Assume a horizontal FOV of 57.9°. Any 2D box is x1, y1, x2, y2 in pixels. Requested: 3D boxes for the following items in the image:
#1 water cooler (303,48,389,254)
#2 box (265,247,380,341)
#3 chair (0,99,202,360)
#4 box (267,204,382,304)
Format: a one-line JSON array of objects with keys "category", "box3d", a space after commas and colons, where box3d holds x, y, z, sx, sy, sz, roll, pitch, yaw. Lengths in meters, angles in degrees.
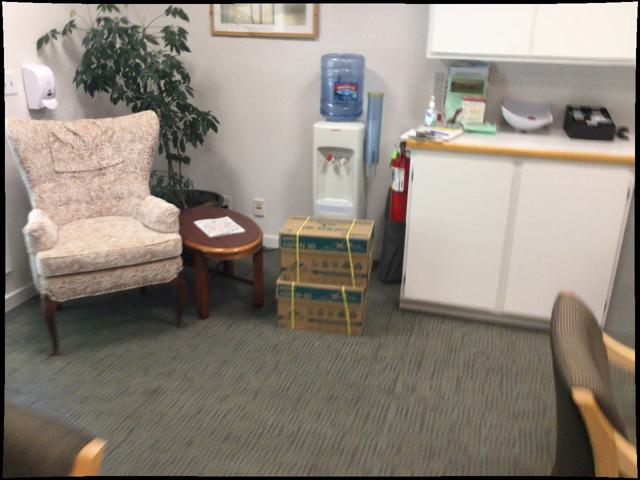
[{"category": "water cooler", "box3d": [0.150, -0.541, 3.510, 0.390, 1.141, 0.400, 8, 24, 15]}, {"category": "box", "box3d": [0.020, 0.270, 3.070, 0.510, 0.270, 0.400, 8, 24, 15]}, {"category": "chair", "box3d": [-1.169, -0.130, 3.020, 0.829, 1.001, 0.890, -9, 26, -23]}, {"category": "box", "box3d": [0.030, 0.060, 3.000, 0.500, 0.330, 0.370, 8, 24, 15]}]
